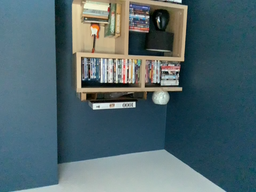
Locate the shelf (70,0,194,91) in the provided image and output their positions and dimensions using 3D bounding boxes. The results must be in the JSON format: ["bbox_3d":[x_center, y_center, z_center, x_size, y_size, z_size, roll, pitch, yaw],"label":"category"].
[{"bbox_3d":[0.040,-0.940,1.710,0.950,1.770,0.340,-1,-172,-21],"label":"shelf"}]
